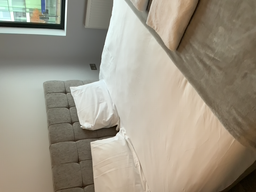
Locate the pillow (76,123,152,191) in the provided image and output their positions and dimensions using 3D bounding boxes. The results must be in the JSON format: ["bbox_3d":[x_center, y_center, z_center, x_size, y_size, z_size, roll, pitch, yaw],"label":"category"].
[{"bbox_3d":[-0.150,0.660,1.910,0.280,0.470,0.700,94,158,-47],"label":"pillow"}]

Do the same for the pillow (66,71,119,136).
[{"bbox_3d":[-0.420,0.050,2.420,0.150,0.430,0.750,93,158,-47],"label":"pillow"}]
